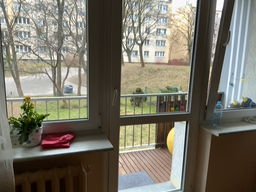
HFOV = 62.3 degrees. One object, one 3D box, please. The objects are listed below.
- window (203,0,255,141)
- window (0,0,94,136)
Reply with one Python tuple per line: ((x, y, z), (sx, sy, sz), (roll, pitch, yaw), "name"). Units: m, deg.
((1.060, -0.430, 1.860), (0.610, 1.610, 0.200), (-2, 12, -20), "window")
((-0.520, -0.440, 1.390), (0.560, 1.370, 0.150), (-2, 12, -22), "window")
